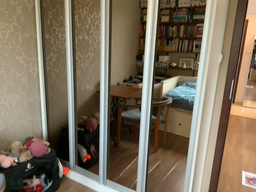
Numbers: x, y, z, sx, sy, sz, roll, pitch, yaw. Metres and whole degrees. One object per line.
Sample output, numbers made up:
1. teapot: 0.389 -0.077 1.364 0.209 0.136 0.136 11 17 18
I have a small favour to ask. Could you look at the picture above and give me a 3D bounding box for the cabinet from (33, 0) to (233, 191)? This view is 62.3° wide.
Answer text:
1. cabinet: -0.050 -0.300 2.000 1.650 2.440 0.630 11 17 29
